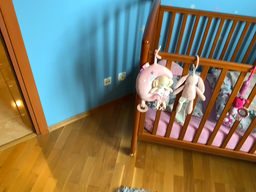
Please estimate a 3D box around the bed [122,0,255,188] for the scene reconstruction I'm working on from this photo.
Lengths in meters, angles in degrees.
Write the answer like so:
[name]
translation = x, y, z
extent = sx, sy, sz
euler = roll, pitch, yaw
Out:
[bed]
translation = 0.830, 0.010, 1.470
extent = 1.570, 0.970, 0.770
euler = 10, 42, 5
